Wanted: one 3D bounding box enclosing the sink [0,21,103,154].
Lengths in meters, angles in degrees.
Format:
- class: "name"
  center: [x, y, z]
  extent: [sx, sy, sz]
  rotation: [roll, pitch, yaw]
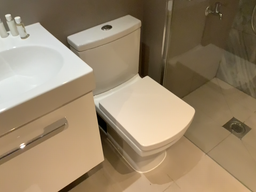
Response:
- class: "sink"
  center: [-0.480, -0.020, 0.700]
  extent: [0.640, 0.140, 0.450]
  rotation: [-29, 50, -27]
